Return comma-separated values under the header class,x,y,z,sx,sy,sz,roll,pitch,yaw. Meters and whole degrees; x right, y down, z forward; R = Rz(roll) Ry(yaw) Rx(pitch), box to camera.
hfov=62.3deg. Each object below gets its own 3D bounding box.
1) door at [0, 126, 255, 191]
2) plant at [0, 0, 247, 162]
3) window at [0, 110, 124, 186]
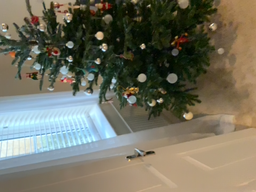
class,x,y,z,sx,sy,sz,roll,pitch,yaw
door,0.130,0.350,0.710,0.870,1.890,0.050,-168,75,-64
plant,-0.260,-0.390,1.670,1.000,1.850,1.110,-137,47,-55
window,-0.780,0.400,1.880,0.810,1.270,0.040,-135,46,-54
